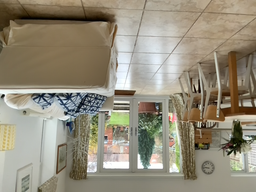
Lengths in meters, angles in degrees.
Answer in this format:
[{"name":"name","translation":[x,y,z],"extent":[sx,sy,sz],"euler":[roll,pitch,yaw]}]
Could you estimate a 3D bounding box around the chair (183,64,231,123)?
[{"name":"chair","translation":[1.100,-0.010,3.030],"extent":[0.480,0.780,0.470],"euler":[2,173,-4]}]
